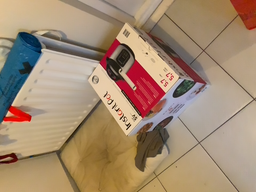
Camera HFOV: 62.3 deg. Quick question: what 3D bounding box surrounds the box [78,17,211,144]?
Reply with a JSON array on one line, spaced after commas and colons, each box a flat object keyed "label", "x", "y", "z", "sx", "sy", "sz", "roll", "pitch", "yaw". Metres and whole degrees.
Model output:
[{"label": "box", "x": 0.080, "y": -0.060, "z": 1.040, "sx": 0.360, "sy": 0.380, "sz": 0.390, "roll": -46, "pitch": 64, "yaw": 26}]
